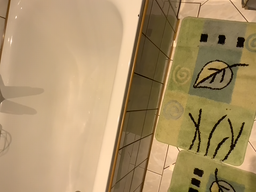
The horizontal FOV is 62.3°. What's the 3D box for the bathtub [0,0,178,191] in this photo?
[{"bbox_3d":[-0.300,0.250,1.150,0.710,0.550,1.610,13,93,22],"label":"bathtub"}]
